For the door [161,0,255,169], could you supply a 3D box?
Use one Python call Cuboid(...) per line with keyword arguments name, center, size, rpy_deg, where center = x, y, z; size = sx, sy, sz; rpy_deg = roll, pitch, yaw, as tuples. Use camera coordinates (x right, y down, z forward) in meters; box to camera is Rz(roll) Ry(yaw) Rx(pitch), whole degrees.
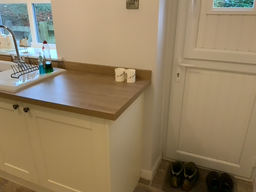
Cuboid(name="door", center=(0.690, -0.330, 1.620), size=(0.770, 1.940, 0.050), rpy_deg=(9, 25, 21))
